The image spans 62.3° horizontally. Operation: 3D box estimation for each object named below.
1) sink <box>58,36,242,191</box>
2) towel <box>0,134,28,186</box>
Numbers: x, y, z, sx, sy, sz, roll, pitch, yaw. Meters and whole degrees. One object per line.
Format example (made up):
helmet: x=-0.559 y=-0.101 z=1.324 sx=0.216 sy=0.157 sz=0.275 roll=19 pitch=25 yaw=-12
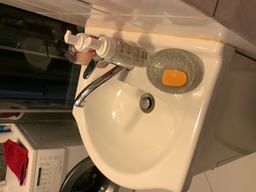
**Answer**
sink: x=0.000 y=0.060 z=0.670 sx=0.510 sy=0.170 sz=0.410 roll=25 pitch=106 yaw=45
towel: x=-0.630 y=0.340 z=1.160 sx=0.240 sy=0.060 sz=0.180 roll=20 pitch=102 yaw=46
